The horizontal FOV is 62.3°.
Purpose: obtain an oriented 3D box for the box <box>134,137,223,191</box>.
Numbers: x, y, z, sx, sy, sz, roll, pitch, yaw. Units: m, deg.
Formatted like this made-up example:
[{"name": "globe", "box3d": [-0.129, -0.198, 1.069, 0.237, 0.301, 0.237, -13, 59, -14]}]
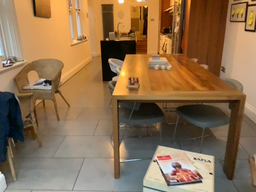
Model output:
[{"name": "box", "box3d": [0.320, 0.620, 1.390, 0.460, 0.470, 0.440, 6, 20, 17]}]
